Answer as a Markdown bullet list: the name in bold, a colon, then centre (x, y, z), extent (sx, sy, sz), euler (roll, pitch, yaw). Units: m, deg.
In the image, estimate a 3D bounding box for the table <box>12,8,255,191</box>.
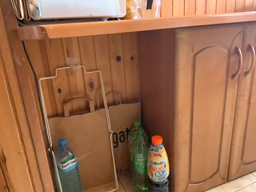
- **table**: centre (0.410, 0.010, 0.980), extent (1.510, 0.750, 0.400), euler (-11, 21, -20)
